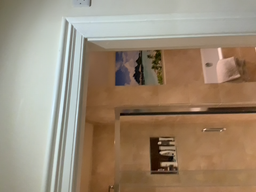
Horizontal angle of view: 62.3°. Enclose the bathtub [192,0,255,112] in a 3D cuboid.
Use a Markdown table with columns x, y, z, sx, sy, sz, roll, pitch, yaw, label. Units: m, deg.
| x | y | z | sx | sy | sz | roll | pitch | yaw | label |
| --- | --- | --- | --- | --- | --- | --- | --- | --- | --- |
| 1.470 | -0.660 | 3.290 | 0.740 | 0.550 | 1.660 | 85 | -176 | -72 | bathtub |
